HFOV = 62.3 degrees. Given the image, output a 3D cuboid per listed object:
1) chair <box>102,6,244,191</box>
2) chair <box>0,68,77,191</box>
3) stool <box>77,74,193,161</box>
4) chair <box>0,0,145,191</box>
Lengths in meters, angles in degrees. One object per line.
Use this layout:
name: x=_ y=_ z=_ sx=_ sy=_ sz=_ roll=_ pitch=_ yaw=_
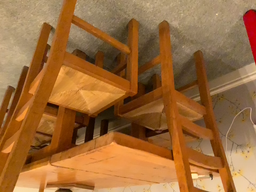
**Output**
chair: x=0.200 y=0.100 z=1.160 sx=0.450 sy=0.920 sz=0.470 roll=23 pitch=145 yaw=-37
chair: x=-0.800 y=0.350 z=1.670 sx=0.530 sy=0.900 sz=0.450 roll=21 pitch=146 yaw=-35
stool: x=-0.030 y=0.290 z=2.040 sx=0.270 sy=0.450 sz=1.260 roll=22 pitch=145 yaw=-36
chair: x=-0.260 y=-0.010 z=0.990 sx=0.490 sy=0.880 sz=0.420 roll=21 pitch=146 yaw=-35
